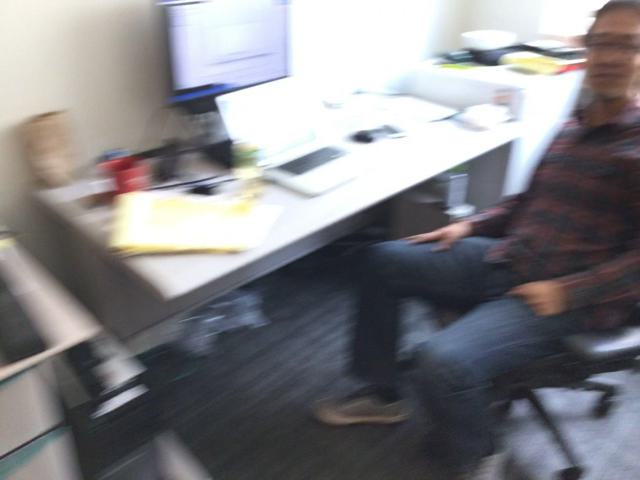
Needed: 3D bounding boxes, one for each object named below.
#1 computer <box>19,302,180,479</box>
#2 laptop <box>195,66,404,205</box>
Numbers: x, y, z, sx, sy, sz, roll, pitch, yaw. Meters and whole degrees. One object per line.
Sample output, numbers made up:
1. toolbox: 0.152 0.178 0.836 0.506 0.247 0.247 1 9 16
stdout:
1. computer: -0.580 0.450 1.540 0.200 0.420 0.350 -25 38 -38
2. laptop: -0.060 -0.340 1.740 0.430 0.230 0.430 -25 38 -38
